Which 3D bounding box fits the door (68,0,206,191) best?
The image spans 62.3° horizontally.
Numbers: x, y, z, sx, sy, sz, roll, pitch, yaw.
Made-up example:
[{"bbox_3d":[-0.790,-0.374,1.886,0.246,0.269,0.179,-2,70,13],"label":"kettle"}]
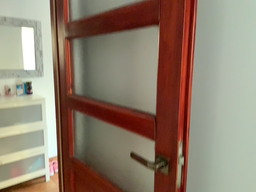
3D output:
[{"bbox_3d":[-0.060,0.290,0.990,0.110,2.140,0.760,-6,12,-37],"label":"door"}]
